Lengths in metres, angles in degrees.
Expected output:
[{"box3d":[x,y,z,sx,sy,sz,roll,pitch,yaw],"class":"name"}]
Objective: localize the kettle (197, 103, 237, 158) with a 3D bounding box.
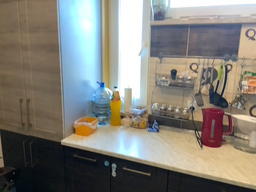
[{"box3d":[0.650,0.240,1.560,0.220,0.320,0.190,7,14,23],"class":"kettle"}]
